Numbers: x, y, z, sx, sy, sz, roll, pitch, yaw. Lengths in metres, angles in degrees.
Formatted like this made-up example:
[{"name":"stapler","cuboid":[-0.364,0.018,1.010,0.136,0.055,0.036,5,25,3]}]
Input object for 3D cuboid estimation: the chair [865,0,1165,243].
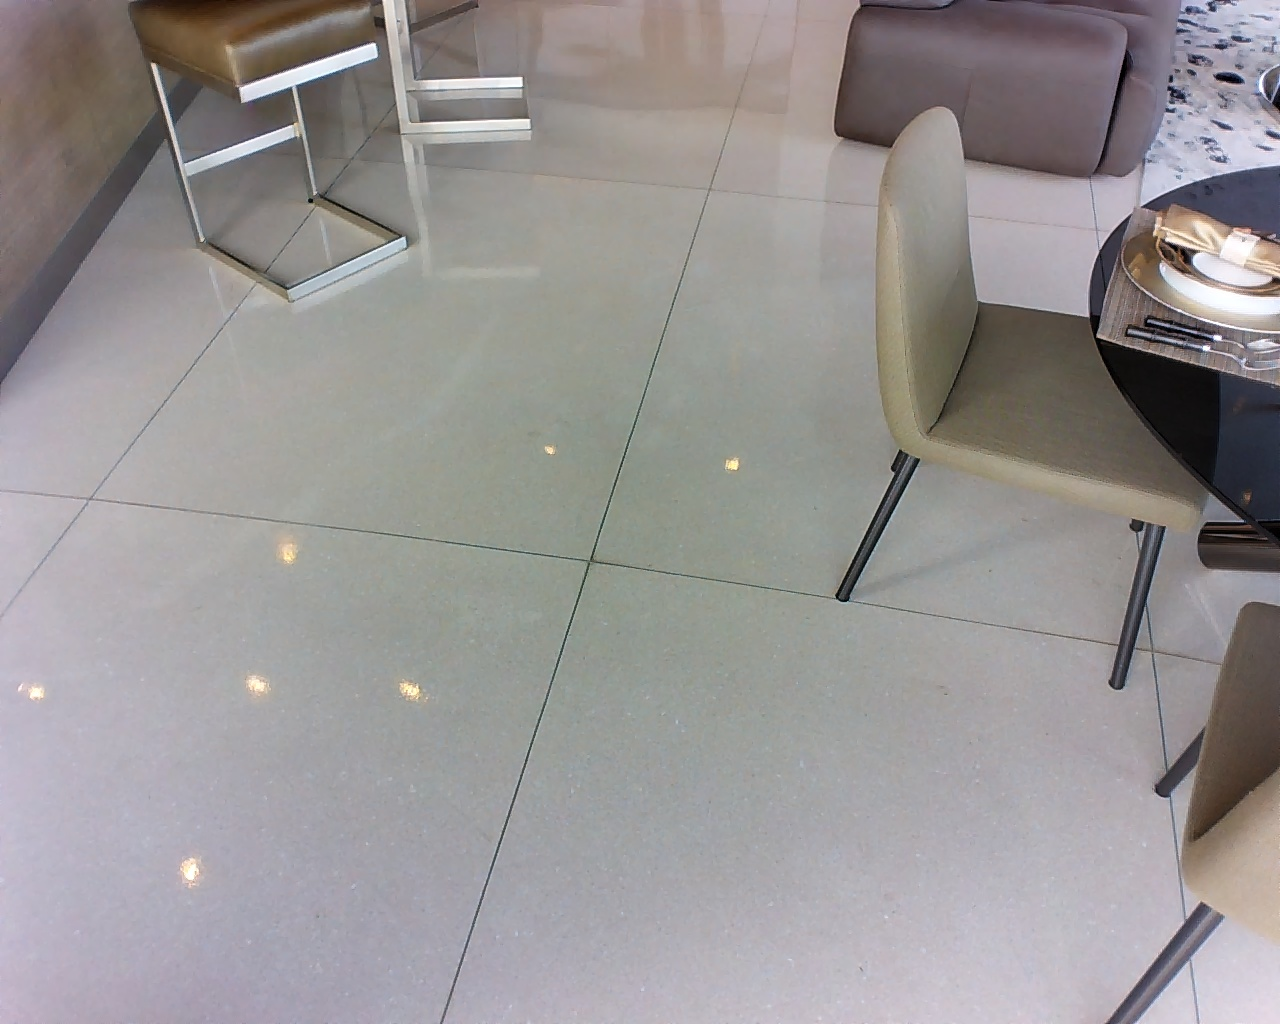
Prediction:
[{"name":"chair","cuboid":[1.100,-1.380,3.290,0.670,0.880,0.560,5,42,5]}]
